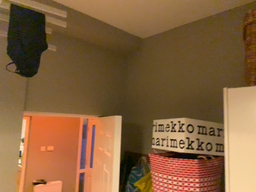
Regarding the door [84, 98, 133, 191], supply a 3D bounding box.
[{"bbox_3d":[-0.260,1.160,1.810,0.150,2.160,1.230,5,-8,-16],"label":"door"}]
